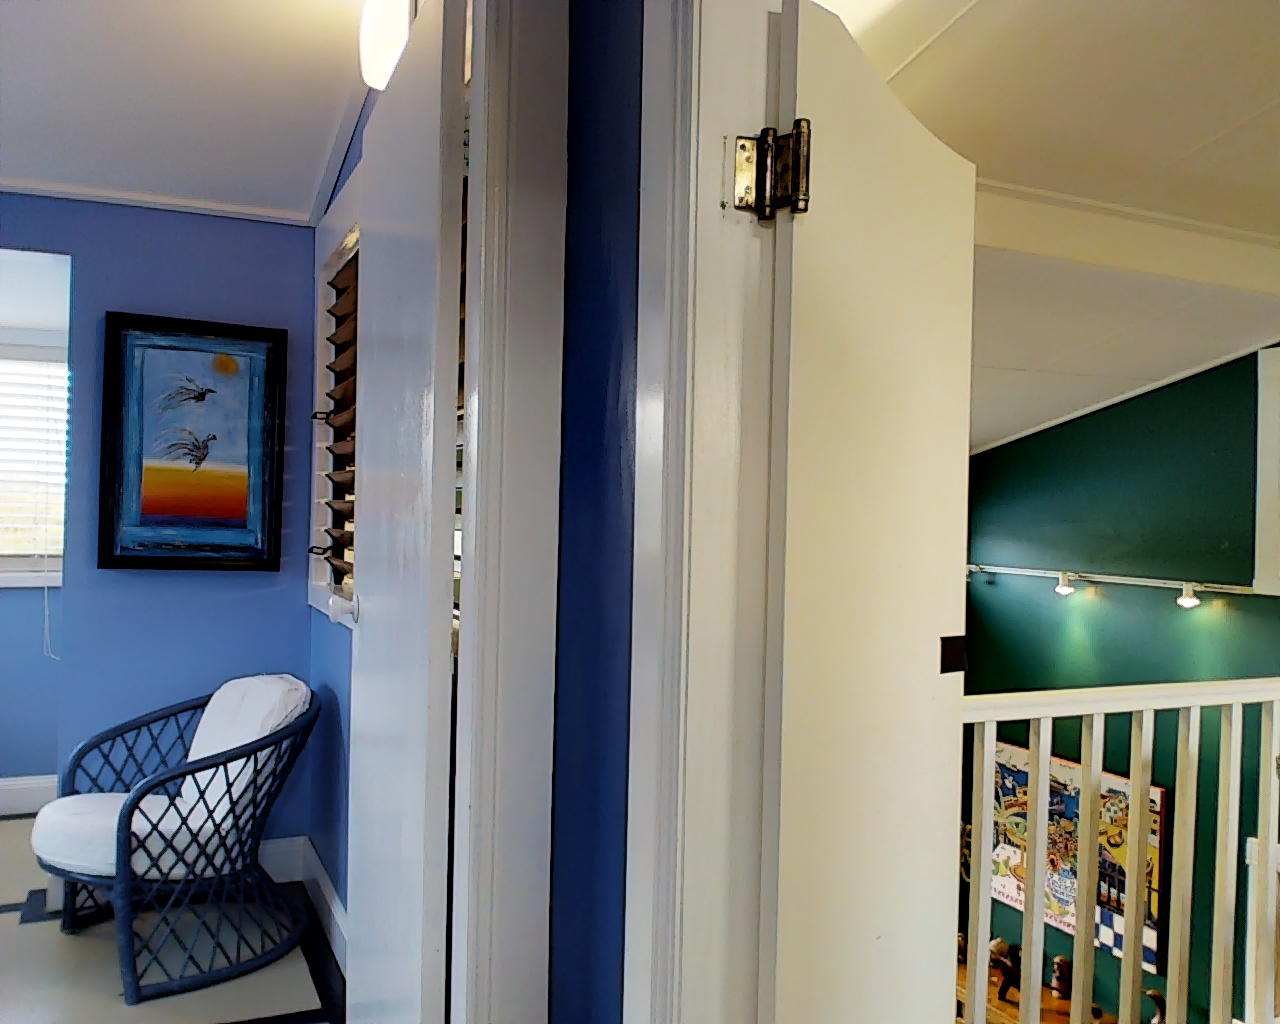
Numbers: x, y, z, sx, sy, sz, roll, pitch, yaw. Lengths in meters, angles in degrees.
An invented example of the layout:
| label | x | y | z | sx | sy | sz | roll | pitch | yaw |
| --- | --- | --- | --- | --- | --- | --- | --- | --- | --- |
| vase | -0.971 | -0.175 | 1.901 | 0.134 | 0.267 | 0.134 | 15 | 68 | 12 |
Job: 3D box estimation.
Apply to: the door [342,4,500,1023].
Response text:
| label | x | y | z | sx | sy | sz | roll | pitch | yaw |
| --- | --- | --- | --- | --- | --- | --- | --- | --- | --- |
| door | -0.430 | 0.250 | 1.970 | 0.100 | 1.991 | 0.820 | 1 | 0 | -22 |

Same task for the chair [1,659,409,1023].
| label | x | y | z | sx | sy | sz | roll | pitch | yaw |
| --- | --- | --- | --- | --- | --- | --- | --- | --- | --- |
| chair | -1.250 | 0.860 | 3.080 | 0.900 | 0.730 | 0.750 | 1 | 0 | -38 |
